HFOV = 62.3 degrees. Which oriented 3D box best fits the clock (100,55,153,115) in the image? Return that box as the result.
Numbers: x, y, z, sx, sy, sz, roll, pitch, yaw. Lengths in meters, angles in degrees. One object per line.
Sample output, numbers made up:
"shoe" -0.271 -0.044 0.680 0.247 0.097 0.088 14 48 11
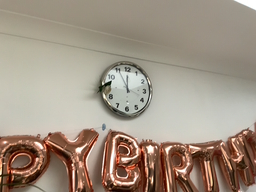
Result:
"clock" 0.000 -0.060 1.320 0.350 0.340 0.020 6 -14 -27
